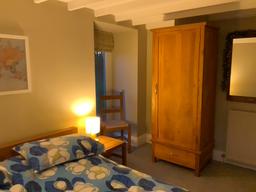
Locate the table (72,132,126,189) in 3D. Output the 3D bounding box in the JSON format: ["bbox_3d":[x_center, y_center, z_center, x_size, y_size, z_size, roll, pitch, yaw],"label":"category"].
[{"bbox_3d":[-0.360,0.780,2.690,0.470,0.440,0.470,7,11,37],"label":"table"}]
